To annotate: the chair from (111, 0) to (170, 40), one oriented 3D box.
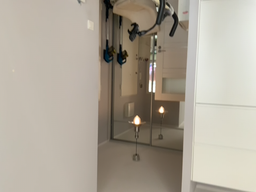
[{"bbox_3d":[0.240,-1.610,4.170,0.840,0.780,0.770,-2,-174,-38],"label":"chair"}]
